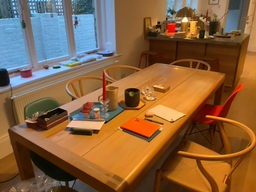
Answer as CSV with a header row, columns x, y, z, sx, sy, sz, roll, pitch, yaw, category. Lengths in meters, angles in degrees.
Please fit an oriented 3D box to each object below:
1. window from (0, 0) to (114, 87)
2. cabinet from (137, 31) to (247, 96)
x,y,z,sx,sy,sz,roll,pitch,yaw,category
-1.050,-1.150,2.560,0.460,1.620,2.240,15,28,30,window
1.160,-0.730,4.220,1.910,0.910,0.580,15,27,30,cabinet
